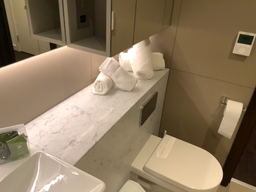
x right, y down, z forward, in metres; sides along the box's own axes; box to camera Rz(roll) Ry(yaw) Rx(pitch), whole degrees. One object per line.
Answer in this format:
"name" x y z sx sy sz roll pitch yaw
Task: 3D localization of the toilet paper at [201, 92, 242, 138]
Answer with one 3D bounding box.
"toilet paper" 0.630 0.130 1.440 0.190 0.240 0.110 19 33 24
